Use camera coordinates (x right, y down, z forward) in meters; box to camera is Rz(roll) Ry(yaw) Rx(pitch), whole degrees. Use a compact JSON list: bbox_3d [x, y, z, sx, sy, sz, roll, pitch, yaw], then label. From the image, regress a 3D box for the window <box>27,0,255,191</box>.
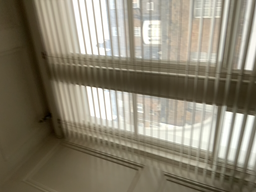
[{"bbox_3d":[0.420,-0.570,0.720,0.060,2.340,2.390,-41,-47,-52],"label":"window"}]
